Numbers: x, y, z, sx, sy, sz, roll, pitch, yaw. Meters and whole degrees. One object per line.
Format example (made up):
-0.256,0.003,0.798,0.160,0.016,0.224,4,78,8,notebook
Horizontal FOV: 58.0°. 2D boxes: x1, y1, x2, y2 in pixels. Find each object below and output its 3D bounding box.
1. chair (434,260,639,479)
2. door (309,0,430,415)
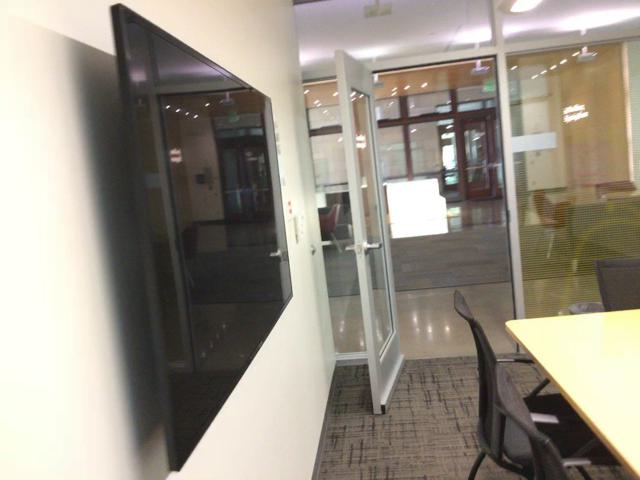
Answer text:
0.800,0.620,2.070,0.600,0.940,0.570,-8,8,6,chair
0.380,-0.220,3.660,0.180,2.290,1.100,-6,8,20,door
